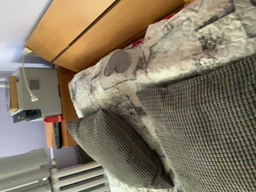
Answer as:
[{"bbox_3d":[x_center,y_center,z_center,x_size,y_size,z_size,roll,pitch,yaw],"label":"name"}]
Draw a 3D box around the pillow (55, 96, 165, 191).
[{"bbox_3d":[-0.100,0.300,1.110,0.190,0.510,0.460,34,152,-30],"label":"pillow"}]
